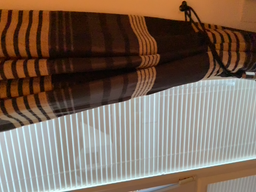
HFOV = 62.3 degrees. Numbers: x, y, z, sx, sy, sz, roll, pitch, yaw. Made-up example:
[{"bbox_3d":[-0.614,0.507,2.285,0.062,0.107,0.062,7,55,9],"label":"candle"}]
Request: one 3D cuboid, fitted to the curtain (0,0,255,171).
[{"bbox_3d":[0.050,-0.060,0.730,0.180,2.130,0.450,-135,43,-68],"label":"curtain"}]
